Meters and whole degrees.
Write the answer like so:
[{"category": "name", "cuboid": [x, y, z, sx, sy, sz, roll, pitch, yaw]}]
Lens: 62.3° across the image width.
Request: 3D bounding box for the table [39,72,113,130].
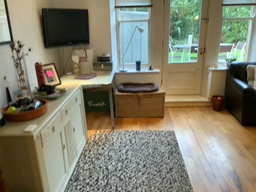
[{"category": "table", "cuboid": [-0.780, 0.050, 3.530, 0.970, 0.680, 0.840, -2, 19, 0]}]
